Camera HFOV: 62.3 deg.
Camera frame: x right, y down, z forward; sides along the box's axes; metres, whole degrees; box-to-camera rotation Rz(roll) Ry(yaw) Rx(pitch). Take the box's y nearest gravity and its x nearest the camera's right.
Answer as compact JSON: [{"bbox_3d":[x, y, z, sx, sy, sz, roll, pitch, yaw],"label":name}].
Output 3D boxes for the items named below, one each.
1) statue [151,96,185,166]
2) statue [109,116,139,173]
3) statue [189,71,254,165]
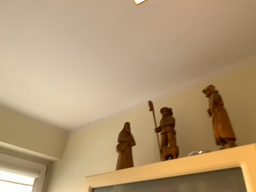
[{"bbox_3d":[0.210,0.190,1.170,0.140,0.350,0.080,-26,-42,37],"label":"statue"},{"bbox_3d":[-0.020,0.300,1.320,0.130,0.310,0.110,-27,-43,37],"label":"statue"},{"bbox_3d":[0.410,0.100,0.960,0.160,0.360,0.160,-23,-40,33],"label":"statue"}]
